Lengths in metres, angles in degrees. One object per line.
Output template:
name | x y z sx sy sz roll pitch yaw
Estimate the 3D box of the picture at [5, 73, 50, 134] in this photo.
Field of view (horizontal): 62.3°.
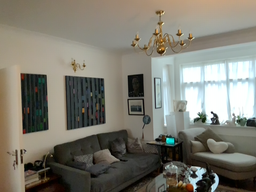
picture | -1.480 0.100 3.180 0.030 0.840 0.640 -2 0 37
